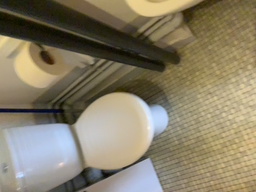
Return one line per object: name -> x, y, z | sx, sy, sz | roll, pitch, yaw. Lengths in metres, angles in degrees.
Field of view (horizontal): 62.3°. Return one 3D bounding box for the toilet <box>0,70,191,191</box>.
toilet -> -0.150, 0.210, 1.150 | 0.660, 0.780, 0.350 | -28, 75, 30
